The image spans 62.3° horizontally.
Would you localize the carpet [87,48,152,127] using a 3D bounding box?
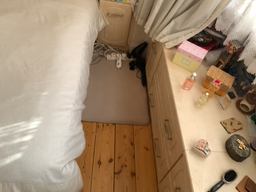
[{"bbox_3d":[-0.070,-0.120,1.950,0.510,0.020,0.890,6,49,-8],"label":"carpet"}]
